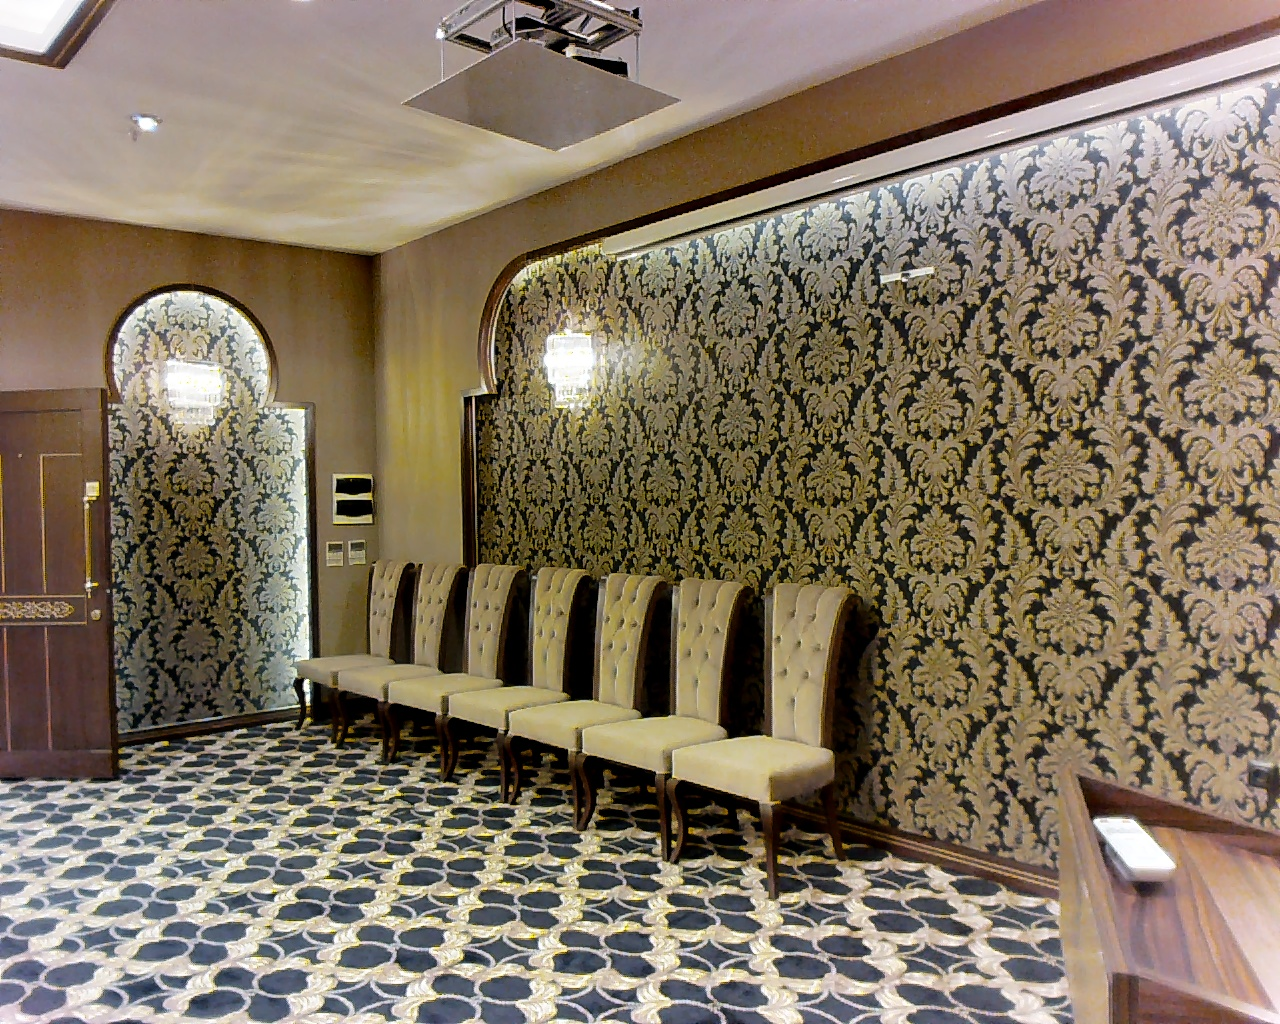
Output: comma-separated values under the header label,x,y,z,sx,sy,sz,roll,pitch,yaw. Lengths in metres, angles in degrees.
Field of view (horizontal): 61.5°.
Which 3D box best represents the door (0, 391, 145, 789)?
label,x,y,z,sx,sy,sz,roll,pitch,yaw
door,-3.289,0.430,5.930,1.030,2.171,0.090,-1,1,0
